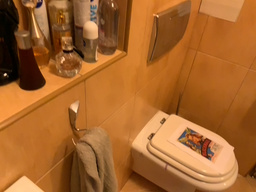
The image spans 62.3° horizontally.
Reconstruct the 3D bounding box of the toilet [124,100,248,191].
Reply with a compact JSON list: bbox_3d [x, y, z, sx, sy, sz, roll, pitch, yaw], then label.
[{"bbox_3d":[0.320,0.410,1.290,0.530,0.470,0.380,26,42,21],"label":"toilet"}]

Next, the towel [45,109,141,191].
[{"bbox_3d":[-0.120,0.350,0.780,0.170,0.570,0.210,29,43,25],"label":"towel"}]
